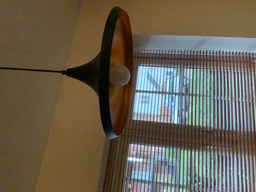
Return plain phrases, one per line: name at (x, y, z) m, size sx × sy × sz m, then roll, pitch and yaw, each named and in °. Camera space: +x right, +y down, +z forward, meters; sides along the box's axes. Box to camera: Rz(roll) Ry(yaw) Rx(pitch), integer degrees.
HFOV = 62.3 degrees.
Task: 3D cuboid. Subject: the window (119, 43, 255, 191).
window at (0.530, 0.160, 1.260) m, size 0.100 × 1.050 × 1.000 m, roll 74°, pitch -158°, yaw -68°
